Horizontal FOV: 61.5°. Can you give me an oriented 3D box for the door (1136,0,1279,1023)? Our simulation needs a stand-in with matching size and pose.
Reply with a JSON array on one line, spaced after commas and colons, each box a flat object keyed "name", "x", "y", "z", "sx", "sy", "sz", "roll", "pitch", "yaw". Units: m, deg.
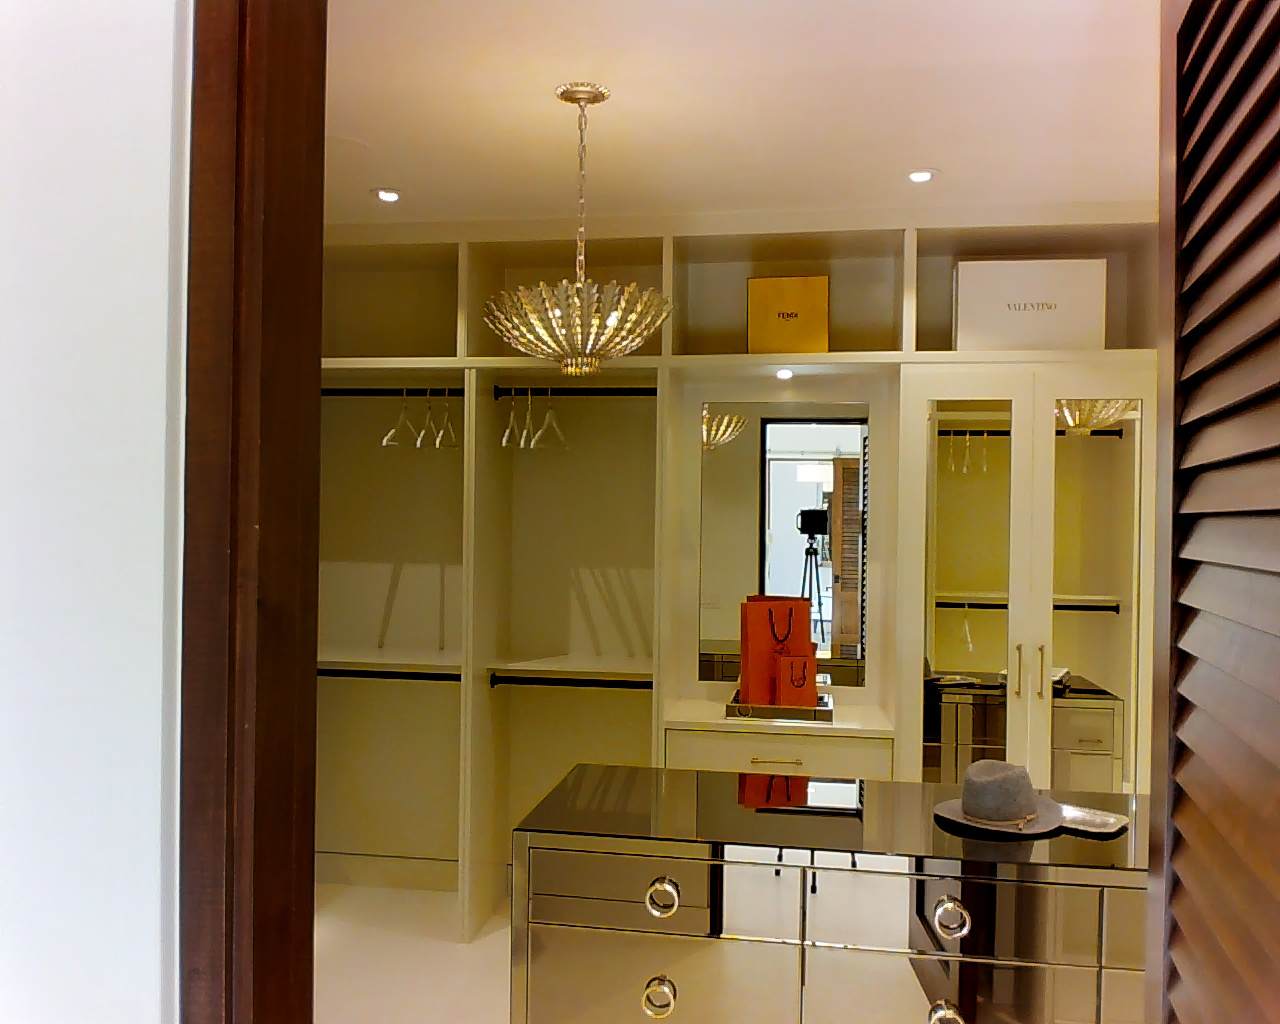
[{"name": "door", "x": 0.580, "y": 0.400, "z": 1.080, "sx": 0.040, "sy": 2.520, "sz": 0.800, "roll": 1, "pitch": 0, "yaw": 18}]

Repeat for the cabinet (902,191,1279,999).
[{"name": "cabinet", "x": 2.430, "y": 0.290, "z": 3.970, "sx": 2.750, "sy": 2.810, "sz": 0.510, "roll": 1, "pitch": 0, "yaw": 9}]

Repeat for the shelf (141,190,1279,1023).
[{"name": "shelf", "x": 0.180, "y": 0.290, "z": 4.320, "sx": 4.240, "sy": 2.870, "sz": 0.670, "roll": 1, "pitch": 0, "yaw": 9}]
